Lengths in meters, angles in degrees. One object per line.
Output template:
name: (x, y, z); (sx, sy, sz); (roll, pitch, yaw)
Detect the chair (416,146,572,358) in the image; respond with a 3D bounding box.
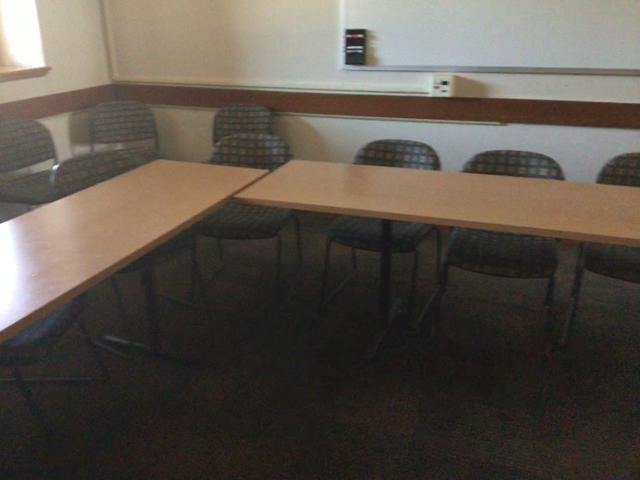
chair: (0.750, 0.010, 2.470); (0.540, 0.740, 0.530); (4, 19, 24)

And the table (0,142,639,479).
table: (0.500, 0.460, 1.360); (3.690, 0.990, 2.690); (4, 19, 24)

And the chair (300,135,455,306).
chair: (0.300, -0.130, 2.710); (0.540, 0.640, 0.590); (4, 19, 24)

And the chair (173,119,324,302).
chair: (-0.310, -0.180, 2.830); (0.400, 0.740, 0.630); (4, 19, 24)
